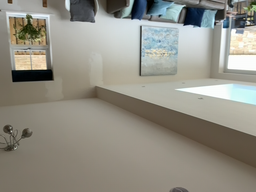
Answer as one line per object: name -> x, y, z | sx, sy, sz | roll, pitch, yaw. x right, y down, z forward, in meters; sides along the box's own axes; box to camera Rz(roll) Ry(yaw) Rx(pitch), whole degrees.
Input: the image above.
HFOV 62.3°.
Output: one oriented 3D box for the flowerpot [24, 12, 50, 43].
flowerpot -> -1.810, -1.340, 4.220 | 0.410, 0.520, 0.330 | -5, -168, -28
